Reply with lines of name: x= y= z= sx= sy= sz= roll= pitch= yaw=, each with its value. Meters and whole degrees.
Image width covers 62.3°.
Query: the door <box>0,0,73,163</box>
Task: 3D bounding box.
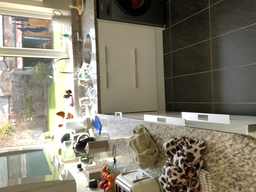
door: x=-1.200 y=-0.190 z=2.660 sx=0.180 sy=0.920 sz=1.900 roll=4 pitch=95 yaw=63

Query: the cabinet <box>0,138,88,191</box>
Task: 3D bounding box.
cabinet: x=-0.800 y=0.610 z=1.510 sx=1.000 sy=0.770 sz=0.360 roll=-1 pitch=90 yaw=63
